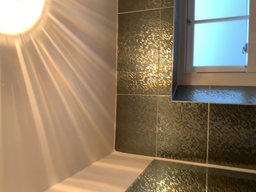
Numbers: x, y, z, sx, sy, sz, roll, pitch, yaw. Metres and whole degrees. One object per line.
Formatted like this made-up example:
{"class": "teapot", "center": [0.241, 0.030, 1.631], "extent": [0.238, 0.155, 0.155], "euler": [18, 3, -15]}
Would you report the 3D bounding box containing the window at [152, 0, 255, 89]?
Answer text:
{"class": "window", "center": [0.870, -0.510, 1.530], "extent": [0.350, 1.310, 0.910], "euler": [0, -88, -69]}
